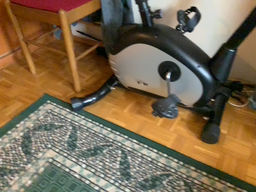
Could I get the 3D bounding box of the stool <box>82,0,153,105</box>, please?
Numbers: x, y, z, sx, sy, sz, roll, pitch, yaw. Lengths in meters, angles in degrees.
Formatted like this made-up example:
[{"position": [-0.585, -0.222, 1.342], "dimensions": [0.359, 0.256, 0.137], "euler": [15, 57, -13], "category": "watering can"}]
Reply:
[{"position": [-0.040, -0.390, 0.980], "dimensions": [0.250, 0.900, 0.210], "euler": [17, 43, 19], "category": "stool"}]
